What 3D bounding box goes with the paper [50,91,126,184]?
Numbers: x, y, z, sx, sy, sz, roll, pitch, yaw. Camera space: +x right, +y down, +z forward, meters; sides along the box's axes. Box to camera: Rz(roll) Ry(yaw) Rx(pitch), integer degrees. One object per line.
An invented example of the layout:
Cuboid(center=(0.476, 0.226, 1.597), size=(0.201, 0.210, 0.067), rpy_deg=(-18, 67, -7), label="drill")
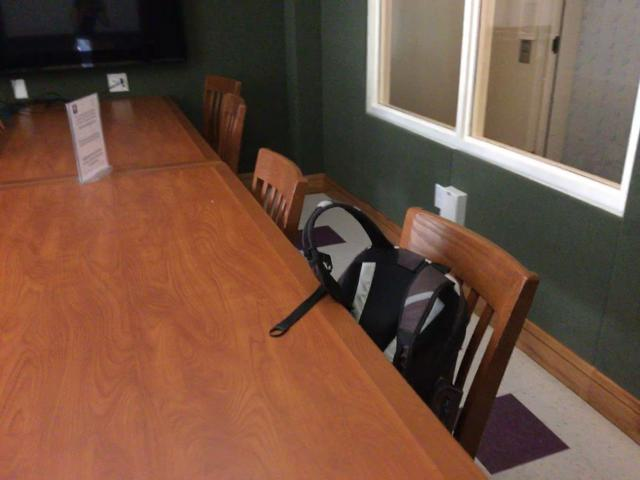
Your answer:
Cuboid(center=(-0.840, -0.380, 2.120), size=(0.120, 0.290, 0.250), rpy_deg=(0, 22, 5), label="paper")
